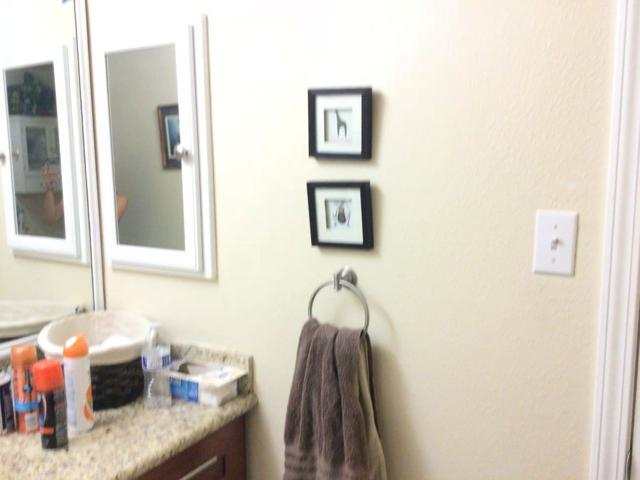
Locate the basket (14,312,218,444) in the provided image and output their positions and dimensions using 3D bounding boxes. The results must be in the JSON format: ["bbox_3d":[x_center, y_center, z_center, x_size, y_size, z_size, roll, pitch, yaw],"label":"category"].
[{"bbox_3d":[-0.520,0.330,1.490,0.390,0.200,0.310,1,6,32],"label":"basket"}]

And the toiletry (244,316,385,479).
[{"bbox_3d":[-0.010,0.410,1.280,0.260,0.440,0.150,1,6,32],"label":"toiletry"}]

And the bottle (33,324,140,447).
[{"bbox_3d":[-0.530,0.320,1.310,0.220,0.220,0.100,1,6,32],"label":"bottle"}]
